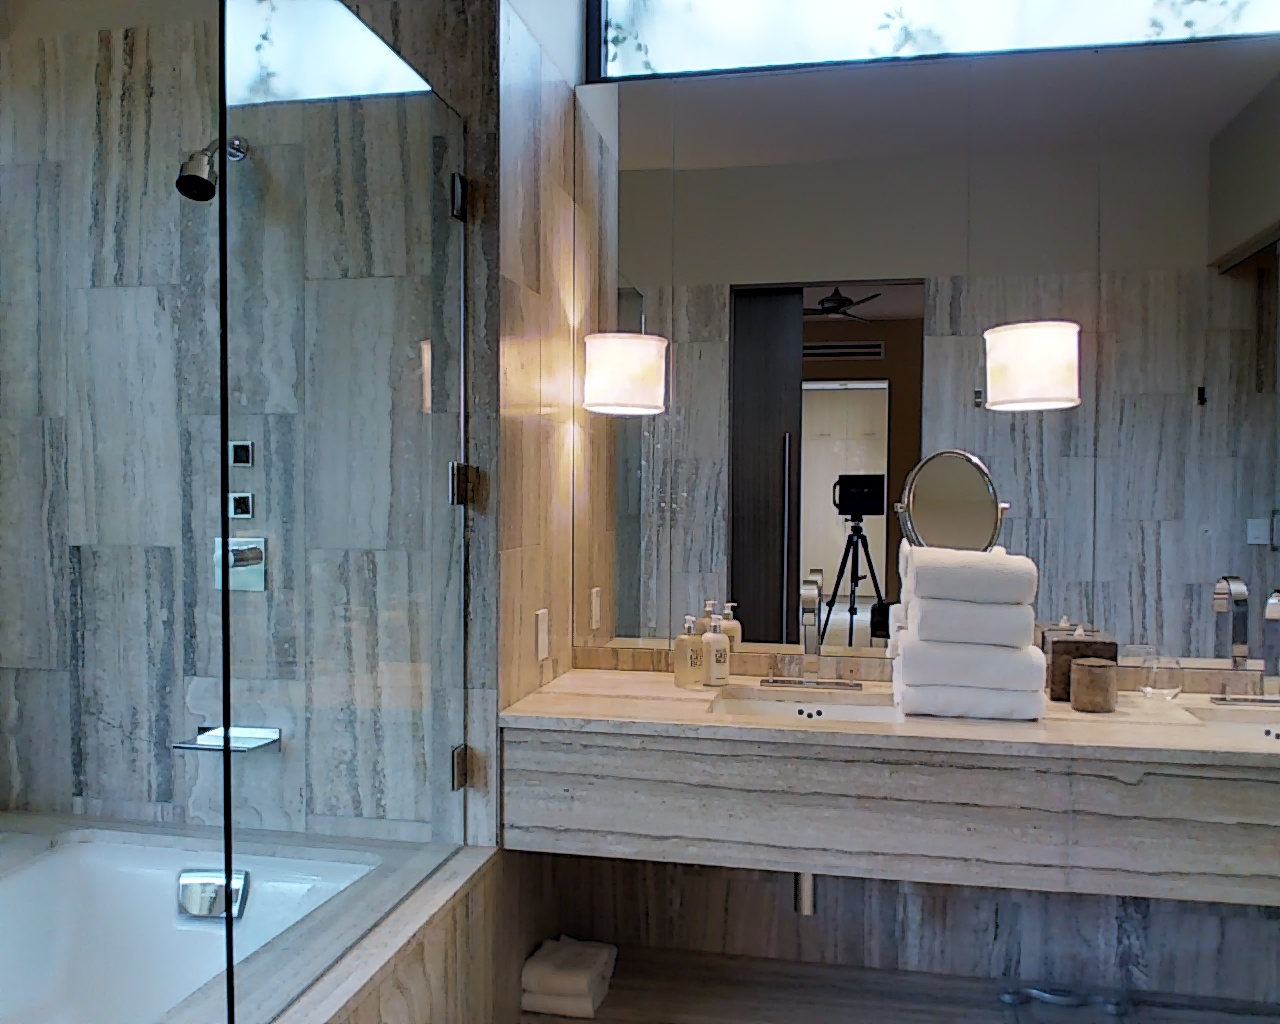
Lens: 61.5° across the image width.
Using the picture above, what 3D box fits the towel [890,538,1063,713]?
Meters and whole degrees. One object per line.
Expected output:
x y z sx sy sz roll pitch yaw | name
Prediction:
0.770 0.250 2.510 0.350 0.360 0.300 1 2 11 | towel

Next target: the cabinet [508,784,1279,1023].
0.950 1.010 2.460 2.410 0.460 0.630 1 2 11 | cabinet

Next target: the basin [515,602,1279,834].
0.960 0.440 2.450 2.400 0.340 0.620 1 2 11 | basin
